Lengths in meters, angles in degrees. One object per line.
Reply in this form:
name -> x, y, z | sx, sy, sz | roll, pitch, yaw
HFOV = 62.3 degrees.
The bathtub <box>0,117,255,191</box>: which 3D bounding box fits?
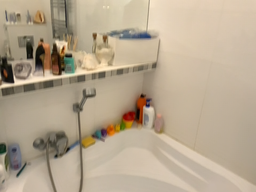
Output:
bathtub -> 0.020, 0.790, 1.260 | 1.270, 0.550, 1.280 | -15, 28, -38
